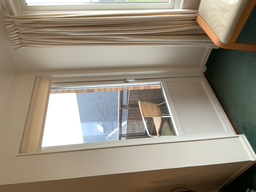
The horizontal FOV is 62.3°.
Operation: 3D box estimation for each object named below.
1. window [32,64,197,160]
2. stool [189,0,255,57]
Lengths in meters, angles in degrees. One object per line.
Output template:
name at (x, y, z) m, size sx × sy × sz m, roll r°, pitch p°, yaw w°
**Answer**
window at (-0.160, 0.100, 2.360) m, size 0.190 × 1.540 × 1.020 m, roll 95°, pitch 168°, yaw -51°
stool at (0.870, -0.800, 1.710) m, size 0.680 × 0.370 × 0.650 m, roll 95°, pitch 168°, yaw -50°
